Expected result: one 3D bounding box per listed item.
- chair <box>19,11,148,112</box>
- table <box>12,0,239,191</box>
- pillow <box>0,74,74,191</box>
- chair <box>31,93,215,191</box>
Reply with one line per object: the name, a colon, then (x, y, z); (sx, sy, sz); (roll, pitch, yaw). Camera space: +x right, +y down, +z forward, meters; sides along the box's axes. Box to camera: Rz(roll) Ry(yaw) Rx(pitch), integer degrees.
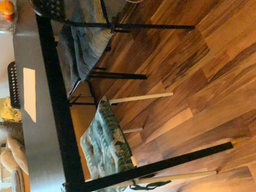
chair: (-0.330, -0.200, 1.490); (0.460, 0.710, 0.420); (-42, 58, 49)
table: (-0.150, -0.080, 1.190); (0.710, 0.750, 1.120); (-43, 57, 49)
pillow: (-0.870, 0.400, 1.880); (0.530, 0.440, 1.060); (-45, 56, 48)
chair: (-0.040, 0.280, 1.060); (0.410, 0.730, 0.400); (-59, 46, 40)
